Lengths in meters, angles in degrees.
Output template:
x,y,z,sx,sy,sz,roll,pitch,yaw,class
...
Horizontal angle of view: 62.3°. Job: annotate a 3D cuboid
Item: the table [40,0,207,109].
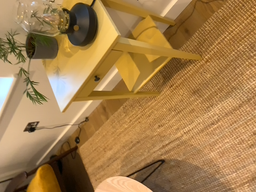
x,y,z,sx,sy,sz,roll,pitch,yaw,class
0.000,-0.220,1.110,0.440,0.690,0.330,-44,63,35,table
